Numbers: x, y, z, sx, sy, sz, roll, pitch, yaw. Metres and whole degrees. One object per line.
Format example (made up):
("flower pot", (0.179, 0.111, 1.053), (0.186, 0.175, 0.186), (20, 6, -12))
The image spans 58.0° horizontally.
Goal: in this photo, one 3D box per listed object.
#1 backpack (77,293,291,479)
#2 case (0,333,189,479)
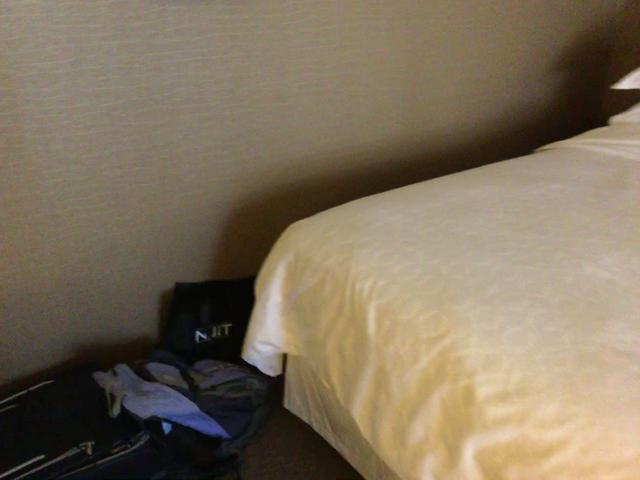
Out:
("backpack", (-0.400, 0.440, 1.710), (0.470, 0.300, 0.430), (-15, 28, -30))
("case", (-0.750, 0.560, 1.530), (0.650, 0.260, 0.460), (-15, 28, -30))
